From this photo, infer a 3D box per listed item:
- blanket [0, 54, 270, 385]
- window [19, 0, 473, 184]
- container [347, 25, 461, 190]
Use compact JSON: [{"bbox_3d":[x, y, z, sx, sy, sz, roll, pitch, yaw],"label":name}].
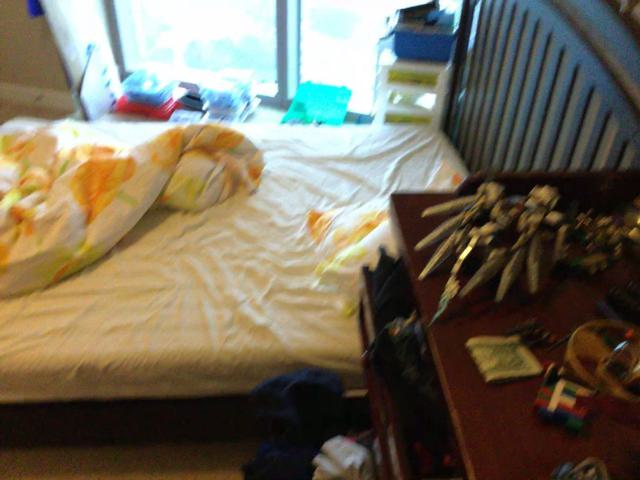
[{"bbox_3d":[-0.740,-0.140,1.700,1.170,0.400,1.090,1,37,-6],"label":"blanket"},{"bbox_3d":[-0.330,-1.290,2.990,2.110,1.190,1.040,15,38,13],"label":"window"},{"bbox_3d":[0.370,-0.630,2.740,0.410,0.590,0.460,6,37,0],"label":"container"}]
